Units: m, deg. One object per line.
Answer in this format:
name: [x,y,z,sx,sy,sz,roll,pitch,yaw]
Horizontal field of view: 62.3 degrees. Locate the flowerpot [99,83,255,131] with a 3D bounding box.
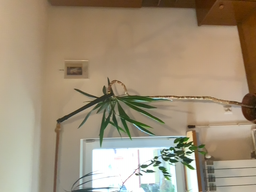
flowerpot: [0.600,0.120,2.090,0.500,1.730,0.360,113,155,-78]
